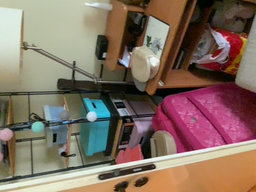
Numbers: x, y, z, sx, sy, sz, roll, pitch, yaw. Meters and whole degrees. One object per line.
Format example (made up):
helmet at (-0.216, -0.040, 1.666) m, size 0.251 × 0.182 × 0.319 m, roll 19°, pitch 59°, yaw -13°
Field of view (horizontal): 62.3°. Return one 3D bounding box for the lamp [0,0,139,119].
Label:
lamp at (-0.450, -0.210, 1.160) m, size 0.450 × 0.820 × 0.450 m, roll -124°, pitch 40°, yaw -48°

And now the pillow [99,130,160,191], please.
pillow at (-0.020, 0.530, 1.470) m, size 0.440 × 0.190 × 0.360 m, roll -125°, pitch 41°, yaw -49°

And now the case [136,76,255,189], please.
case at (0.480, 0.190, 1.320) m, size 0.420 × 0.650 × 0.460 m, roll -120°, pitch 37°, yaw -44°
